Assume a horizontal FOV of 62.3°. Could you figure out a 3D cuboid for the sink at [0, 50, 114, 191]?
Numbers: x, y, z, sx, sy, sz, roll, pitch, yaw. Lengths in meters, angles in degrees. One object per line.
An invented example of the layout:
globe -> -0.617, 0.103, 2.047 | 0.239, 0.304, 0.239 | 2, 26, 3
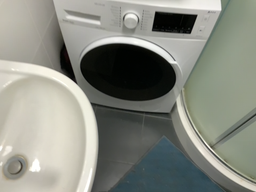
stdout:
sink -> -0.280, 0.150, 0.540 | 0.410, 0.210, 0.480 | 9, 61, 1
